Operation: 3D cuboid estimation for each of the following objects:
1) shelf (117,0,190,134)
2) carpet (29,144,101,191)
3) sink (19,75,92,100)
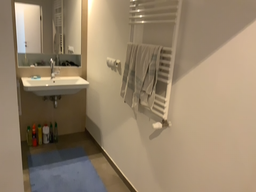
[{"bbox_3d":[0.150,-0.400,1.610,0.140,1.210,0.610,-5,18,-29],"label":"shelf"},{"bbox_3d":[-0.720,0.820,2.290,0.590,0.020,1.020,-4,18,-26],"label":"carpet"},{"bbox_3d":[-0.920,-0.130,2.690,0.780,0.170,0.480,-5,19,-30],"label":"sink"}]
